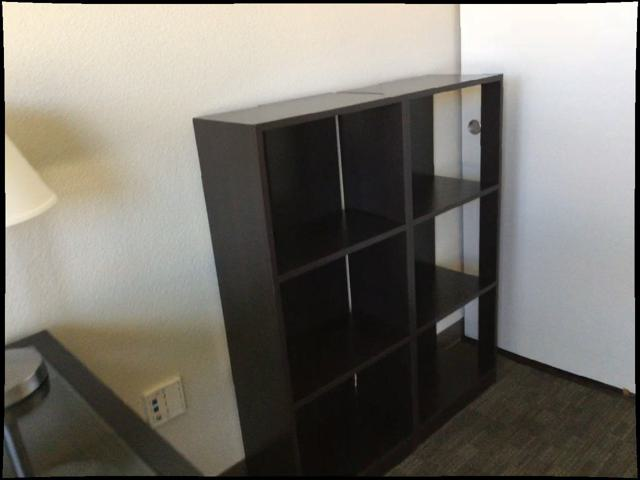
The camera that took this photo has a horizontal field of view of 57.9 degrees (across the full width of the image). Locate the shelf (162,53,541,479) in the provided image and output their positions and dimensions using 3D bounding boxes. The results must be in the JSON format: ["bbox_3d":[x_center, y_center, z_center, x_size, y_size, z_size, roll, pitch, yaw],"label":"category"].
[{"bbox_3d":[0.250,0.090,1.980,1.269,1.231,0.370,-23,26,-36],"label":"shelf"}]
